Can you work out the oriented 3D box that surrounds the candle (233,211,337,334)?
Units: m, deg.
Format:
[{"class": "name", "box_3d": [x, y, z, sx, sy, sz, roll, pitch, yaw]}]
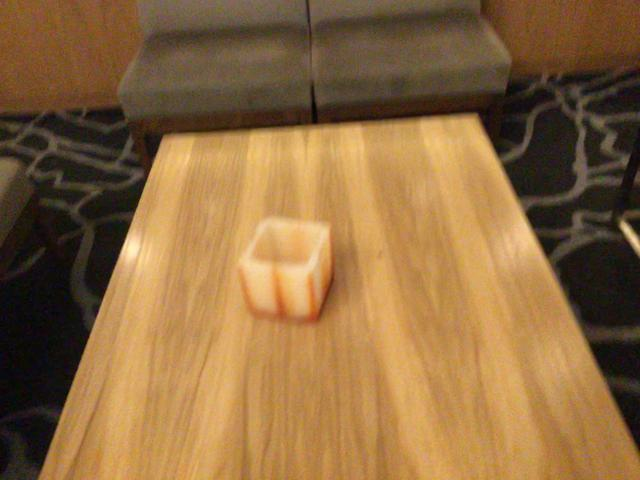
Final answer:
[{"class": "candle", "box_3d": [-0.060, 0.060, 1.110, 0.170, 0.140, 0.180, -4, 40, 3]}]

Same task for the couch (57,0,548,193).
[{"class": "couch", "box_3d": [-0.030, -0.780, 2.310, 1.540, 0.750, 0.780, -4, 40, 3]}]
